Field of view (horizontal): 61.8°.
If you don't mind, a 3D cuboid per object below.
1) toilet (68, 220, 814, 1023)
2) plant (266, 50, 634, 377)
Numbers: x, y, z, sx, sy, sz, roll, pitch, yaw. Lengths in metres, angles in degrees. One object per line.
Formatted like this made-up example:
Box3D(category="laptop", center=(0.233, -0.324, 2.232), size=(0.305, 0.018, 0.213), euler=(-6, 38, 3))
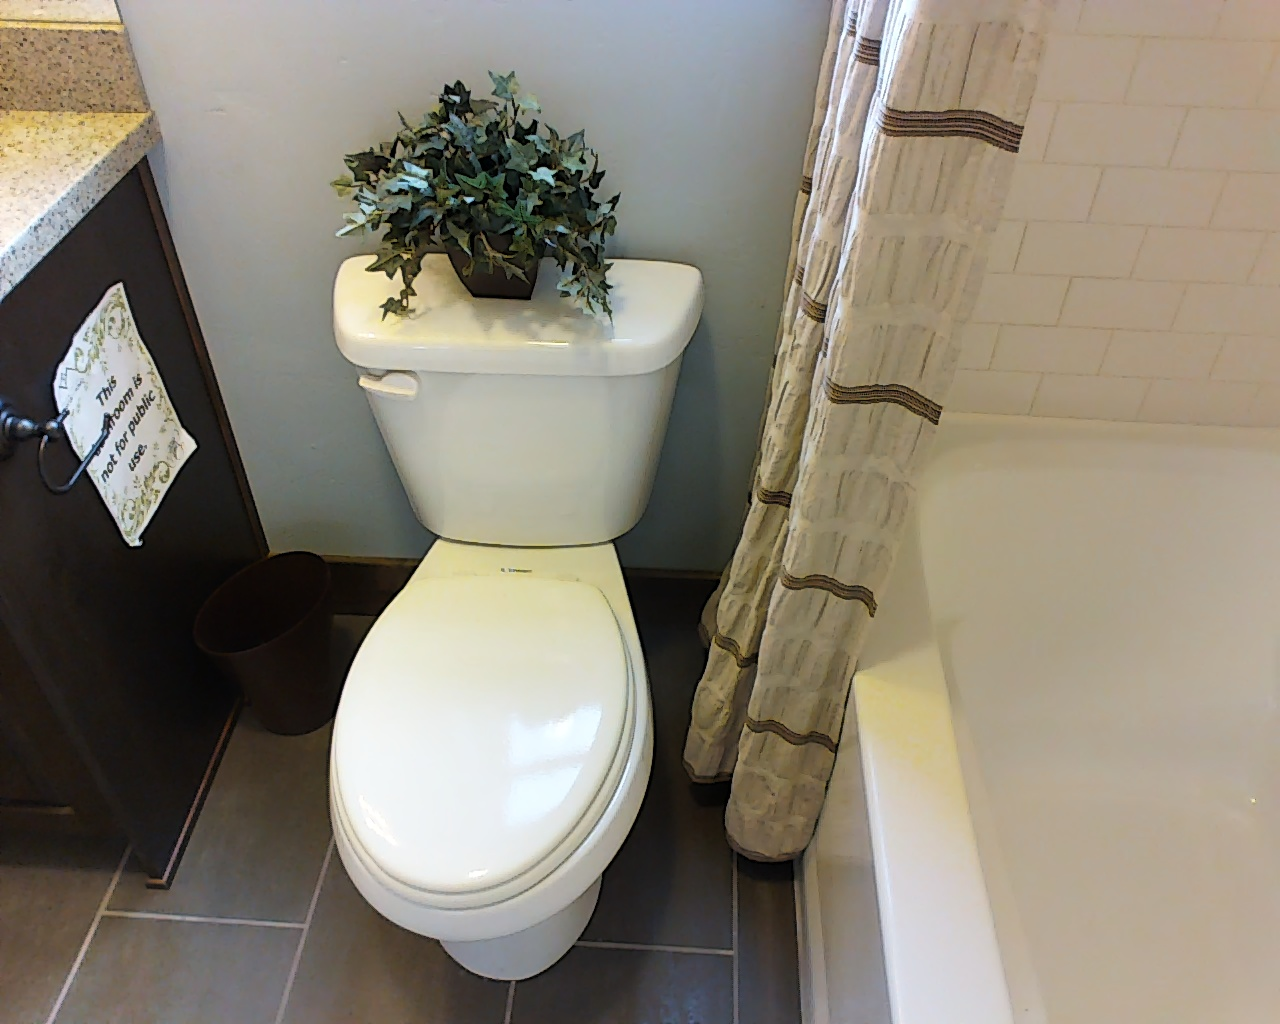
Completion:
Box3D(category="toilet", center=(-0.140, 0.160, 1.370), size=(0.580, 0.750, 0.790), euler=(2, 41, 2))
Box3D(category="plant", center=(-0.190, -0.350, 1.240), size=(0.340, 0.260, 0.270), euler=(3, 41, 4))
